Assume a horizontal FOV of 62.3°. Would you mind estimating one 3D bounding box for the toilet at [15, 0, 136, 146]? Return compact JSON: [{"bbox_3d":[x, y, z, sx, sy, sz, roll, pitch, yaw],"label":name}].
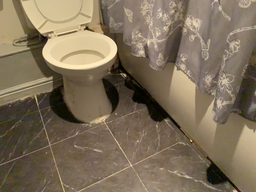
[{"bbox_3d":[-0.300,-0.290,1.140,0.390,0.760,0.680,-20,42,-21],"label":"toilet"}]
